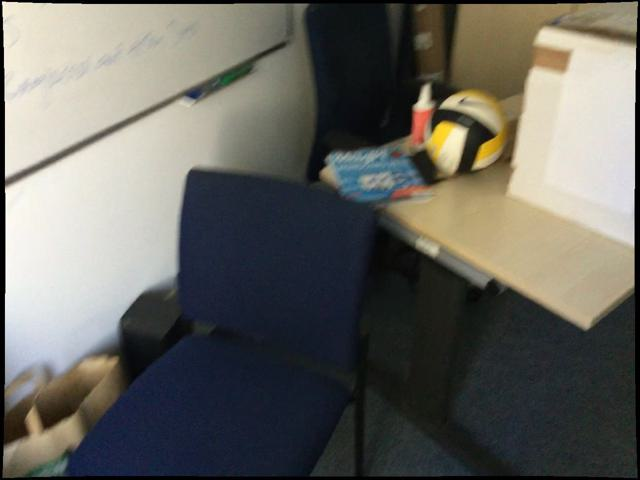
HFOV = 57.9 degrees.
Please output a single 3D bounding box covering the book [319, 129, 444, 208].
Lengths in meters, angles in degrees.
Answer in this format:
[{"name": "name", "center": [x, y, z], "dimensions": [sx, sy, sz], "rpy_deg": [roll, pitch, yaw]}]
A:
[{"name": "book", "center": [0.150, -0.200, 1.540], "dimensions": [0.260, 0.040, 0.320], "rpy_deg": [-6, 36, -7]}]
